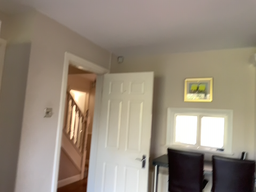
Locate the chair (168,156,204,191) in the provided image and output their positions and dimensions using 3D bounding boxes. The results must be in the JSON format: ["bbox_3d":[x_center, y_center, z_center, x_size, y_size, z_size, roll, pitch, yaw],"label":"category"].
[{"bbox_3d":[0.630,1.170,2.310,0.330,0.930,0.320,1,-6,23],"label":"chair"}]
